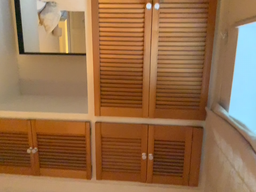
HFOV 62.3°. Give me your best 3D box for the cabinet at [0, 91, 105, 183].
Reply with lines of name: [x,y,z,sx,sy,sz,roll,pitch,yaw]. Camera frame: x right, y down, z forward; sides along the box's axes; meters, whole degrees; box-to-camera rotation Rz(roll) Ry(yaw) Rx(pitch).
cabinet: [-0.680,0.300,1.840,0.860,0.560,0.580,2,-167,4]
